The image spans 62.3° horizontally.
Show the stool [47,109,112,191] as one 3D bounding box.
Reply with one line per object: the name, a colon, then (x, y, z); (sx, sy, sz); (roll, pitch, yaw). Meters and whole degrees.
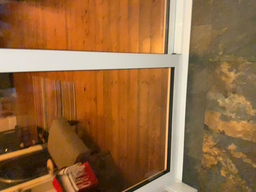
stool: (-0.650, 0.640, 2.660); (0.860, 0.350, 0.560); (36, 121, 38)
